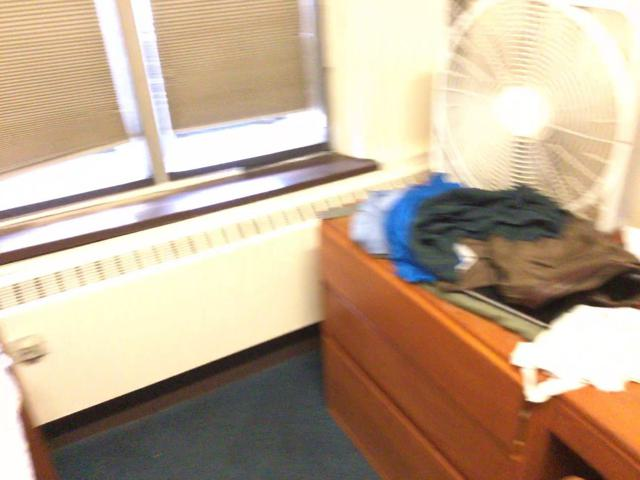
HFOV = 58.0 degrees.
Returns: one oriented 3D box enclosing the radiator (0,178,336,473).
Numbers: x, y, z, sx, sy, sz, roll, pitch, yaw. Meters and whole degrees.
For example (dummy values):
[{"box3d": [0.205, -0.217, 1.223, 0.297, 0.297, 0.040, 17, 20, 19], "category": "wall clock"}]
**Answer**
[{"box3d": [-0.400, 0.230, 1.680, 0.900, 0.600, 0.150, -18, 33, -21], "category": "radiator"}]
